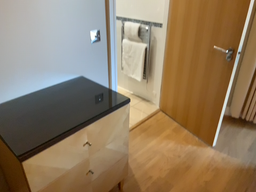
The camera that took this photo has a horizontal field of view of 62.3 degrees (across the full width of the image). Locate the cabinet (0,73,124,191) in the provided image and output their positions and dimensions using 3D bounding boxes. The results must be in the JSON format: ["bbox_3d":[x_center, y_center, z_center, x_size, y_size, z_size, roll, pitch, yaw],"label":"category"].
[{"bbox_3d":[-0.460,0.410,1.480,0.510,0.860,0.710,25,37,36],"label":"cabinet"}]
